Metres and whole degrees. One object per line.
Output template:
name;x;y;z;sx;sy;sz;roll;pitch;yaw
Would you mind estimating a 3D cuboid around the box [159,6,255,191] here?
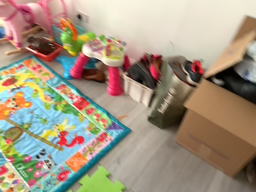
box;0.710;0.100;1.250;0.580;0.930;0.690;36;51;25
